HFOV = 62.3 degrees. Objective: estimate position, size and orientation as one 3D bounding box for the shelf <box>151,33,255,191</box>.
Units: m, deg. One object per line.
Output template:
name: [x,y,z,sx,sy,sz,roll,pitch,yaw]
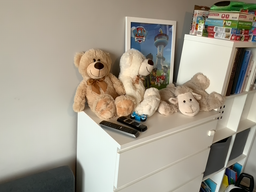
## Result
shelf: [0.760,0.230,1.910,0.770,1.460,0.510,-10,25,-34]
